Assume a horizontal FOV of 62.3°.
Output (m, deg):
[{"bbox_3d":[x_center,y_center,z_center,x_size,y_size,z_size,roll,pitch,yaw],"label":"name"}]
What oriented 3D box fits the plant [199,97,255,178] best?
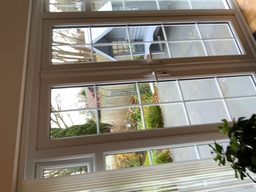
[{"bbox_3d":[0.980,0.230,1.310,0.340,0.900,0.370,102,162,-62],"label":"plant"}]
